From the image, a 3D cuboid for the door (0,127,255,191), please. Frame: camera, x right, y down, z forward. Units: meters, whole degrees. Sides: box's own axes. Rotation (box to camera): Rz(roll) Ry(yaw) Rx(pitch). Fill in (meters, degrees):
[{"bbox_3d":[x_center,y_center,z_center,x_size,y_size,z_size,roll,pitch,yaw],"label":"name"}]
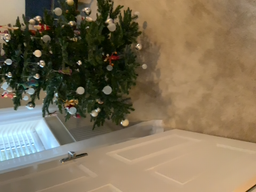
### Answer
[{"bbox_3d":[-0.170,0.360,0.880,0.870,1.890,0.050,0,95,54],"label":"door"}]
